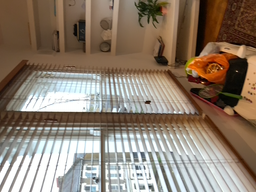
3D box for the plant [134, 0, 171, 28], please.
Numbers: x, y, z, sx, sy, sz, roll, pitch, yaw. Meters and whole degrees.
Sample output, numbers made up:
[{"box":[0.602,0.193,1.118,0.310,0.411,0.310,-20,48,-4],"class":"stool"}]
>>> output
[{"box":[0.350,-1.240,3.090,0.120,0.460,0.430,-104,17,-60],"class":"plant"}]
